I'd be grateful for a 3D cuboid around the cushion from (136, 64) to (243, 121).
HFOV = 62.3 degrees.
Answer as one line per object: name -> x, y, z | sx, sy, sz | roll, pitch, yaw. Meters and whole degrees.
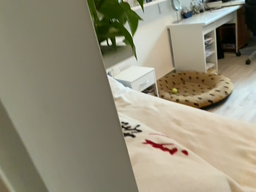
cushion -> 0.770, -0.120, 2.760 | 0.820, 0.240, 1.040 | -30, 30, -32
